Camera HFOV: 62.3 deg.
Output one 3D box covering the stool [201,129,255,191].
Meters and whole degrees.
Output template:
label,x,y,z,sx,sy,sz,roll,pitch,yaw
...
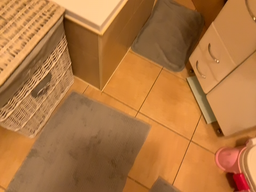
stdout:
label,x,y,z,sx,sy,sz,roll,pitch,yaw
stool,0.630,0.360,1.090,0.340,0.200,0.330,-12,70,-11
